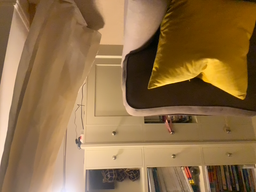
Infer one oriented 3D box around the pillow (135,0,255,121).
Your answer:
[{"bbox_3d":[0.370,-0.220,0.910,0.510,0.400,0.230,34,160,3],"label":"pillow"}]
